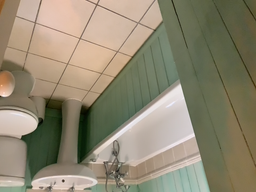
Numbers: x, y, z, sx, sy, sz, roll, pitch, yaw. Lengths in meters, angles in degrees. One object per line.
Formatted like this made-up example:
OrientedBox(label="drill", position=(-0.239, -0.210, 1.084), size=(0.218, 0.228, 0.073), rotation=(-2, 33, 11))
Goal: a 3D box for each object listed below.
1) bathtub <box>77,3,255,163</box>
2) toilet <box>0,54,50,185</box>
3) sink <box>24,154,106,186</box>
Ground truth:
OrientedBox(label="bathtub", position=(0.160, 0.110, 1.910), size=(0.670, 0.540, 1.620), rotation=(14, 144, -29))
OrientedBox(label="toilet", position=(-0.950, 0.220, 1.700), size=(0.400, 0.810, 0.660), rotation=(13, 144, -30))
OrientedBox(label="sink", position=(-0.550, 0.660, 1.840), size=(0.560, 0.150, 0.450), rotation=(13, 144, -30))
